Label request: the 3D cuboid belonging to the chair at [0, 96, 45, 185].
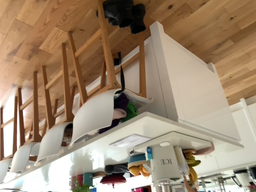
[{"bbox_3d":[-1.270,0.520,2.440,0.400,0.890,0.380,-29,144,36],"label":"chair"}]
